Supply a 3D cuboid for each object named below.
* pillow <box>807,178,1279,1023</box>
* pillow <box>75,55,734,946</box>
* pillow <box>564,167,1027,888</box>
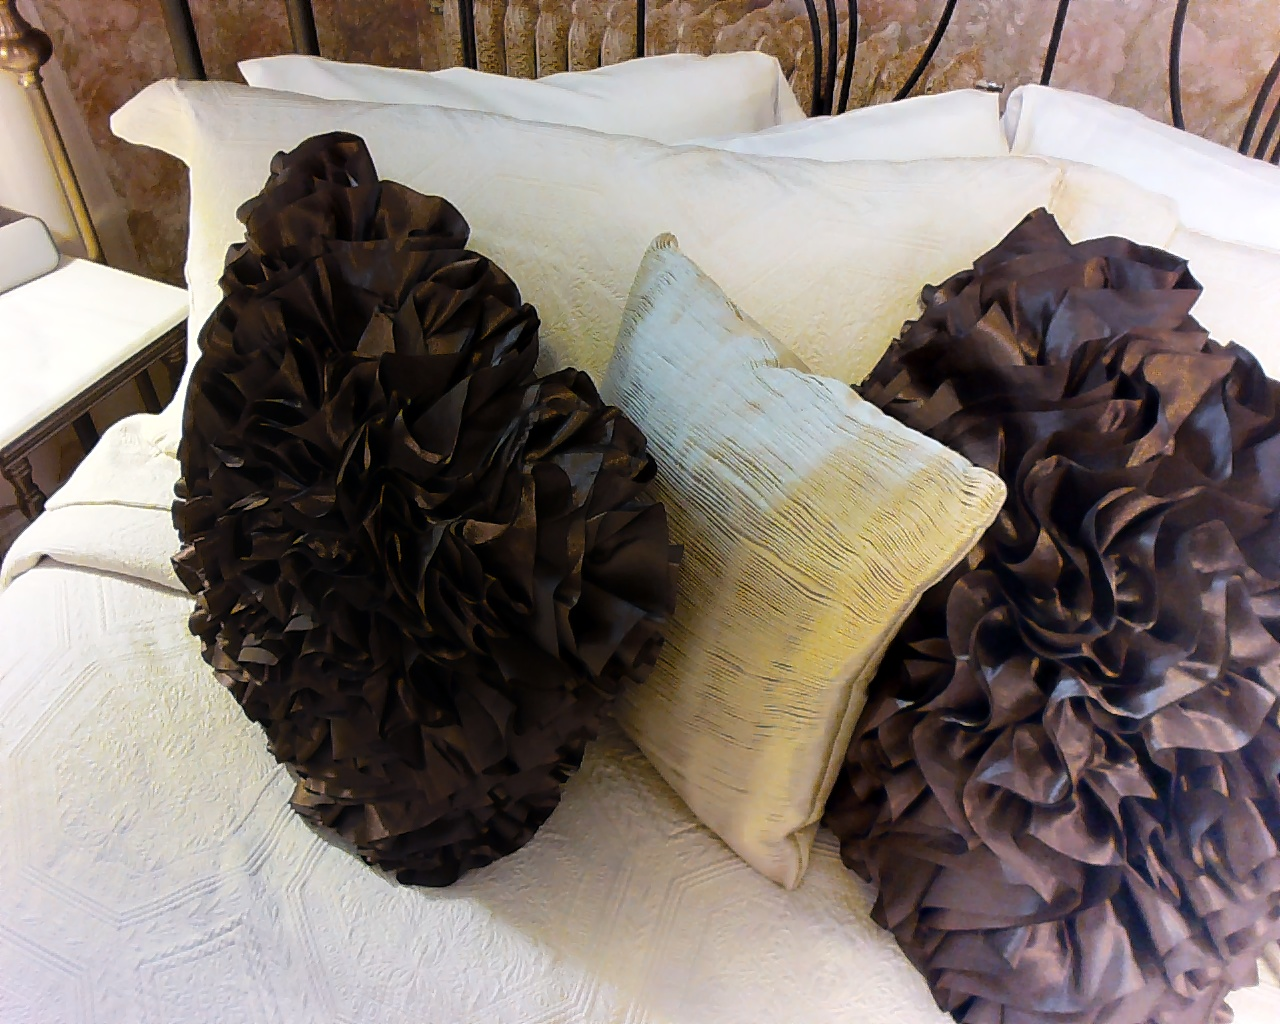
[{"bbox_3d":[0.360,0.090,0.810,0.200,0.420,0.510,-29,55,-10],"label":"pillow"},{"bbox_3d":[-0.210,-0.050,0.910,0.290,0.430,0.580,-20,45,-21],"label":"pillow"},{"bbox_3d":[0.080,0.000,0.890,0.200,0.390,0.420,-8,43,-9],"label":"pillow"}]
